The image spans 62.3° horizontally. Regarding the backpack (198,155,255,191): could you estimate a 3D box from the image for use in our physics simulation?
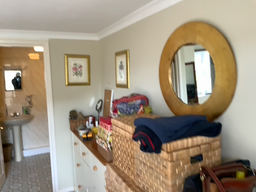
[{"bbox_3d":[0.510,0.450,0.950,0.300,0.240,0.230,-5,7,-28],"label":"backpack"}]
